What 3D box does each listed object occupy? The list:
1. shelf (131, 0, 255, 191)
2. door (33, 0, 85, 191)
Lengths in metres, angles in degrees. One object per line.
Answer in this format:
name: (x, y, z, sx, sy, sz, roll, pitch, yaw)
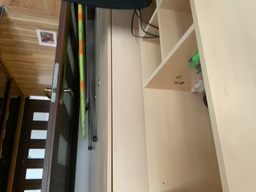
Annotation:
shelf: (0.310, -0.290, 0.820, 0.480, 2.000, 0.440, 4, 158, -14)
door: (-0.400, -0.070, 1.410, 0.080, 2.070, 0.700, 1, 159, -7)
